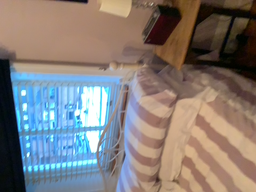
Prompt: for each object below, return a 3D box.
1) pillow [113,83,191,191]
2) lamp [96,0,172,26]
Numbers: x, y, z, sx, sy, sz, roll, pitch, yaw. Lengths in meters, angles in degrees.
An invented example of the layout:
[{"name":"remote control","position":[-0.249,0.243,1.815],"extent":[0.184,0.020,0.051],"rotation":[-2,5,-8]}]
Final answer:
[{"name":"pillow","position":[0.110,0.250,1.380],"extent":[0.440,0.250,0.540],"rotation":[-125,39,-56]},{"name":"lamp","position":[0.030,-0.530,1.210],"extent":[0.200,0.370,0.190],"rotation":[-126,40,-57]}]
